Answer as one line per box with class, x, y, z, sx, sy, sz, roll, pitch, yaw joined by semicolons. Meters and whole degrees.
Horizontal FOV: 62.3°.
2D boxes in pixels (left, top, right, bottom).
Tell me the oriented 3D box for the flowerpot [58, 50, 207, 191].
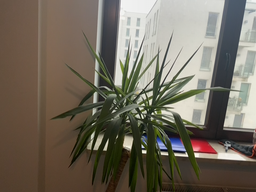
flowerpot;-0.040;0.500;1.330;0.610;1.470;0.540;-3;14;-37
